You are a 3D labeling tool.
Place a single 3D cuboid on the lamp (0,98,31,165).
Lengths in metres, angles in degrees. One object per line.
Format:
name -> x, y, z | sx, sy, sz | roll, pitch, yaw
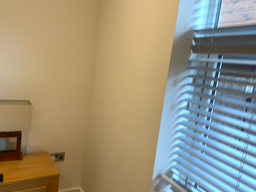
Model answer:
lamp -> -0.920, 0.260, 1.610 | 0.290, 0.460, 0.190 | 3, 10, -32
